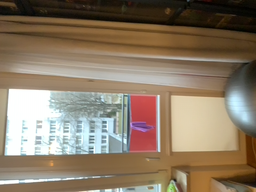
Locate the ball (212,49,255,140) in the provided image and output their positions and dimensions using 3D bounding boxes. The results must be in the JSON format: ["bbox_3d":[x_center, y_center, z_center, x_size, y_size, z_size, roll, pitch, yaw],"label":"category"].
[{"bbox_3d":[1.010,0.020,1.570,0.480,0.520,0.570,153,118,-74],"label":"ball"}]
